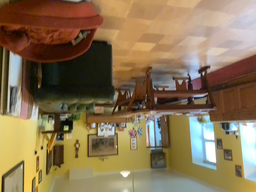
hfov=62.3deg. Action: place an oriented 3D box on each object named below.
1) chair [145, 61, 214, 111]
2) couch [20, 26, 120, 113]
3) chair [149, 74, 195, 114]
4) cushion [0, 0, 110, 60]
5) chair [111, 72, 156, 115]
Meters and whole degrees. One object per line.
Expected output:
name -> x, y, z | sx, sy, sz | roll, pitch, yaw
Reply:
chair -> 0.820, -0.150, 3.560 | 0.980, 0.740, 0.500 | -1, 173, -5
couch -> -0.820, -0.180, 2.990 | 0.940, 0.740, 1.850 | 1, 172, -17
chair -> 0.920, 0.000, 4.690 | 0.500, 0.740, 1.060 | 1, 172, -18
cushion -> -0.610, -0.550, 1.700 | 0.780, 0.260, 0.810 | 1, 172, -16
chair -> 0.050, 0.020, 4.740 | 0.500, 0.720, 1.560 | 1, 172, -18
